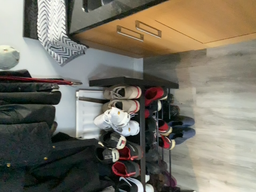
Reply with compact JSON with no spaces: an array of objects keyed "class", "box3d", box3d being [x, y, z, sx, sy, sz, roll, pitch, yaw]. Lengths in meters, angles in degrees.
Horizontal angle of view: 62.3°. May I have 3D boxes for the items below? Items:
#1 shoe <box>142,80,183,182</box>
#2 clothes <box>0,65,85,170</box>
[{"class":"shoe","box3d":[0.260,0.240,1.600,0.220,0.220,0.690,0,89,42]},{"class":"clothes","box3d":[-0.630,0.080,0.860,0.360,0.840,0.380,-1,89,42]}]
